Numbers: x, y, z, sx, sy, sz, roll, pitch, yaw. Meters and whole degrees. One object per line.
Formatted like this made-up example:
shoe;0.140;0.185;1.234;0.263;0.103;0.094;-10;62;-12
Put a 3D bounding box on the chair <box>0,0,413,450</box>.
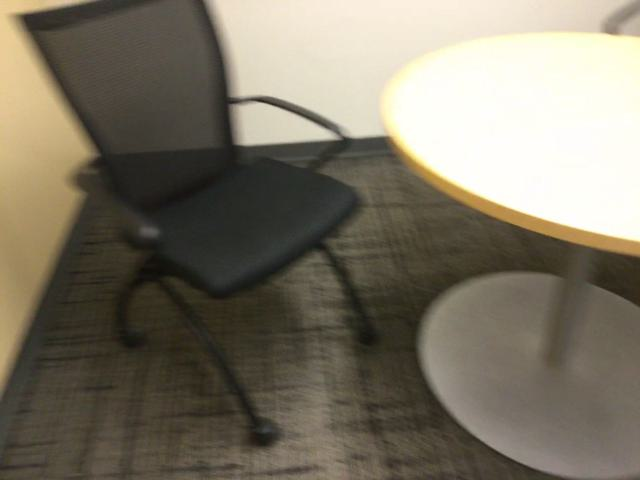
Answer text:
chair;-0.210;-0.120;1.420;0.610;0.860;0.610;27;46;37
